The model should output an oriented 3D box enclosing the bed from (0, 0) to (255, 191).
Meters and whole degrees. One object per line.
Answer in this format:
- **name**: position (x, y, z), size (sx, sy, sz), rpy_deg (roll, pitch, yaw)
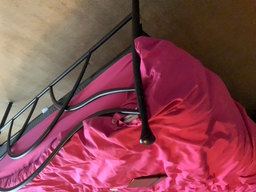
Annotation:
- **bed**: position (0.240, 0.490, 1.780), size (1.650, 0.740, 2.110), rpy_deg (-30, 135, 34)
